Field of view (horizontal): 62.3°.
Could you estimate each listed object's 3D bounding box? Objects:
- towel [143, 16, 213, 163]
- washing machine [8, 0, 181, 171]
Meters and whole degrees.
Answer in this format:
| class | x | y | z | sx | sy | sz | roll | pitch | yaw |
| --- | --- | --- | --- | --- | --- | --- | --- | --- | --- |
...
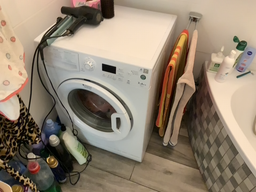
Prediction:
| class | x | y | z | sx | sy | sz | roll | pitch | yaw |
| --- | --- | --- | --- | --- | --- | --- | --- | --- | --- |
| towel | 0.300 | 0.010 | 1.410 | 0.210 | 0.890 | 0.440 | 16 | 48 | 13 |
| washing machine | -0.130 | -0.090 | 1.400 | 0.680 | 0.840 | 0.630 | 16 | 48 | 13 |
